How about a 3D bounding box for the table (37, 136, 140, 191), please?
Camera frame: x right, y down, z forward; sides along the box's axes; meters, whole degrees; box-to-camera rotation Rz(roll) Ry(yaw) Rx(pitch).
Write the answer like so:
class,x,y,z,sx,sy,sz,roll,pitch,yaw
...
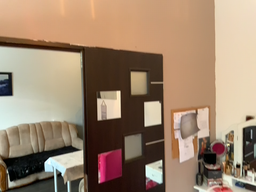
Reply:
class,x,y,z,sx,sy,sz,roll,pitch,yaw
table,-0.630,1.240,3.630,1.030,0.700,1.380,1,4,42
